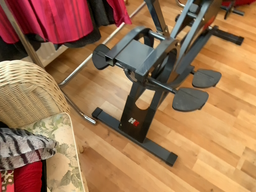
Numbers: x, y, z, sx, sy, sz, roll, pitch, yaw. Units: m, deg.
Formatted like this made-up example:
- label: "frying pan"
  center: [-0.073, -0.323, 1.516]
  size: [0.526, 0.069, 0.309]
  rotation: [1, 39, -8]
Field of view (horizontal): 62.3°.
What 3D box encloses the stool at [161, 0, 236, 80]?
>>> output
- label: "stool"
  center: [0.410, -0.420, 1.240]
  size: [0.250, 0.510, 0.340]
  rotation: [28, 61, 19]
